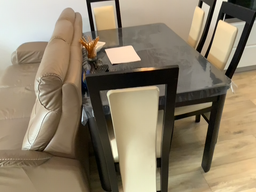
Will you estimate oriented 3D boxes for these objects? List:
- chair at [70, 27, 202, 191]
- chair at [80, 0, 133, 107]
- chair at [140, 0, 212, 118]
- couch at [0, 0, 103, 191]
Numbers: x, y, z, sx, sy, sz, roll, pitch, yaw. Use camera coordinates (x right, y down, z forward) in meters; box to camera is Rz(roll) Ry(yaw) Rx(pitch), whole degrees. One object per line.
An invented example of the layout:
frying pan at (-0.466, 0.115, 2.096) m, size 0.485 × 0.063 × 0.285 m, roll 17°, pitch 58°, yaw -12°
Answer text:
chair at (0.040, 0.220, 1.230) m, size 0.470 × 1.050 × 0.470 m, roll -7°, pitch 34°, yaw -3°
chair at (-0.200, -0.460, 2.240) m, size 0.380 × 1.040 × 0.470 m, roll -7°, pitch 34°, yaw -3°
chair at (0.400, -0.360, 2.020) m, size 0.470 × 1.050 × 0.410 m, roll -7°, pitch 34°, yaw -4°
couch at (-0.840, -0.110, 1.870) m, size 0.980 × 0.970 × 1.880 m, roll -9°, pitch 34°, yaw -6°
